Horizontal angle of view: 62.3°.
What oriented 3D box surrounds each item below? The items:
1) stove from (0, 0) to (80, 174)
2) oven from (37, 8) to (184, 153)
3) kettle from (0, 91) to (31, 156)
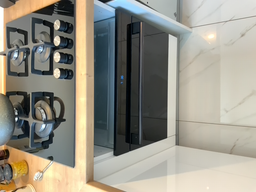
[{"bbox_3d":[-0.400,-0.050,0.870,0.540,0.050,0.600,2,91,36],"label":"stove"},{"bbox_3d":[-0.080,-0.070,1.310,0.610,0.670,0.590,2,91,36],"label":"oven"},{"bbox_3d":[-0.520,0.100,0.840,0.160,0.190,0.230,5,94,36],"label":"kettle"}]
